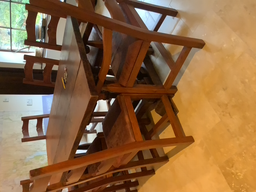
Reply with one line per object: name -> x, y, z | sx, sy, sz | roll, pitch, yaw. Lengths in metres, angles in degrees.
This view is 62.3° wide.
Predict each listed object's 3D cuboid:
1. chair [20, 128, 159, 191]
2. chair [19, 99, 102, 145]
chair -> -0.360, 0.660, 1.890 | 0.480, 1.060, 0.510 | -57, 42, 45
chair -> -0.990, 0.350, 3.080 | 0.450, 1.060, 0.420 | -61, 39, 42
